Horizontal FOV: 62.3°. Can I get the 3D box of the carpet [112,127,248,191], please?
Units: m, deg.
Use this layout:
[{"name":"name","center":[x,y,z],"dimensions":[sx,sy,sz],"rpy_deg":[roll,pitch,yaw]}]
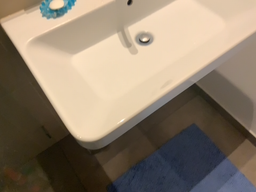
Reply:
[{"name":"carpet","center":[0.440,0.710,1.060],"dimensions":[0.590,0.020,1.020],"rpy_deg":[-30,64,-16]}]
